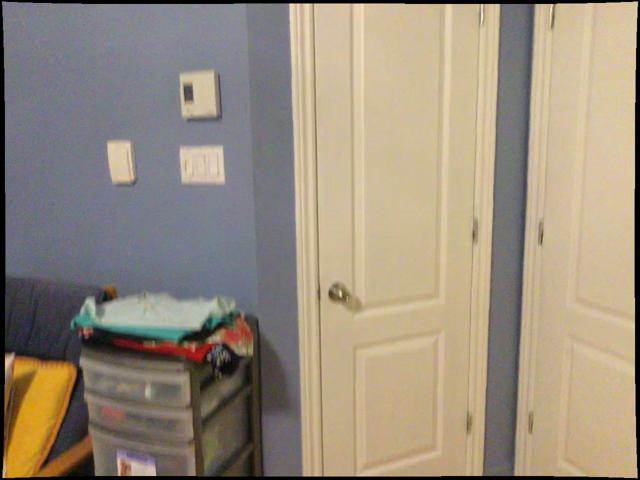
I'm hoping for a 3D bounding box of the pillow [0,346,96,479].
[{"bbox_3d":[-1.009,0.571,1.820,0.440,0.350,0.300,2,13,23],"label":"pillow"}]
